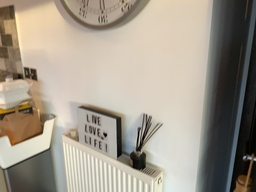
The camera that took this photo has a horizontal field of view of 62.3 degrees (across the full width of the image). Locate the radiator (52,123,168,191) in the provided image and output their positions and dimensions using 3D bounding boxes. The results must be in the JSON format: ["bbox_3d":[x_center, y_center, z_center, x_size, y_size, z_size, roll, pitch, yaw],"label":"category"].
[{"bbox_3d":[-0.140,0.580,1.270,0.730,0.680,0.120,11,20,33],"label":"radiator"}]
